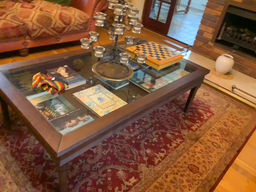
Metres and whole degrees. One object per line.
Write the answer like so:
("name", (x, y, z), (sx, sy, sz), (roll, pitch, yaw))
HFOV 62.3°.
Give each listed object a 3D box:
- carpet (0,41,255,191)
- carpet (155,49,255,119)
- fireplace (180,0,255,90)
("carpet", (-0.050, 0.120, 1.820), (1.770, 0.220, 2.460), (36, 40, 31))
("carpet", (1.110, -0.250, 2.770), (1.320, 0.120, 0.760), (35, 40, 30))
("fireplace", (1.480, -0.890, 2.730), (1.240, 1.190, 0.430), (35, 40, 30))
